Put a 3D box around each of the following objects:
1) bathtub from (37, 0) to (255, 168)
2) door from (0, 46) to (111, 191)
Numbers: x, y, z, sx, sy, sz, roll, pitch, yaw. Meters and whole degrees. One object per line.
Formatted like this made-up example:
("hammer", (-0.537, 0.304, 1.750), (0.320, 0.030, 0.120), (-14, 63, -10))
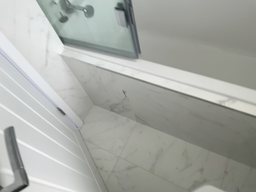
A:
("bathtub", (0.430, -0.170, 1.230), (1.620, 0.590, 0.710), (20, 66, 21))
("door", (-0.400, -0.020, 0.550), (0.050, 2.040, 0.800), (-32, 59, -8))
